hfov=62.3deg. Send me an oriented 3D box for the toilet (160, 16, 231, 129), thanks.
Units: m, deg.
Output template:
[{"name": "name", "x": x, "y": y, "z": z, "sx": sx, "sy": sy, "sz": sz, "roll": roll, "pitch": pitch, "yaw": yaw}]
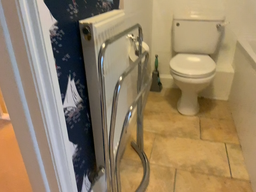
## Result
[{"name": "toilet", "x": 0.560, "y": -0.250, "z": 1.880, "sx": 0.420, "sy": 0.790, "sz": 0.660, "roll": 6, "pitch": 28, "yaw": 15}]
